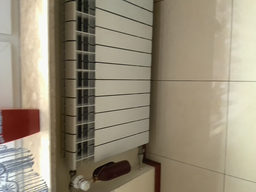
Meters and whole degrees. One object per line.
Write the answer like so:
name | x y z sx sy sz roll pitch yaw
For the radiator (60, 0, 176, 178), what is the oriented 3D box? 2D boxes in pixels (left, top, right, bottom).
radiator | -0.020 -0.270 1.180 0.230 0.600 1.240 12 101 40
